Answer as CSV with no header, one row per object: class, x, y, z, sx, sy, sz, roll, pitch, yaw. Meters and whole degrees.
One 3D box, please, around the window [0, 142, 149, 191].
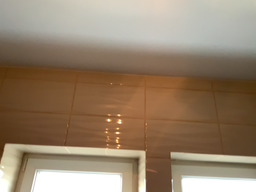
window,-0.310,0.730,1.130,0.820,0.880,0.190,4,-27,-2
